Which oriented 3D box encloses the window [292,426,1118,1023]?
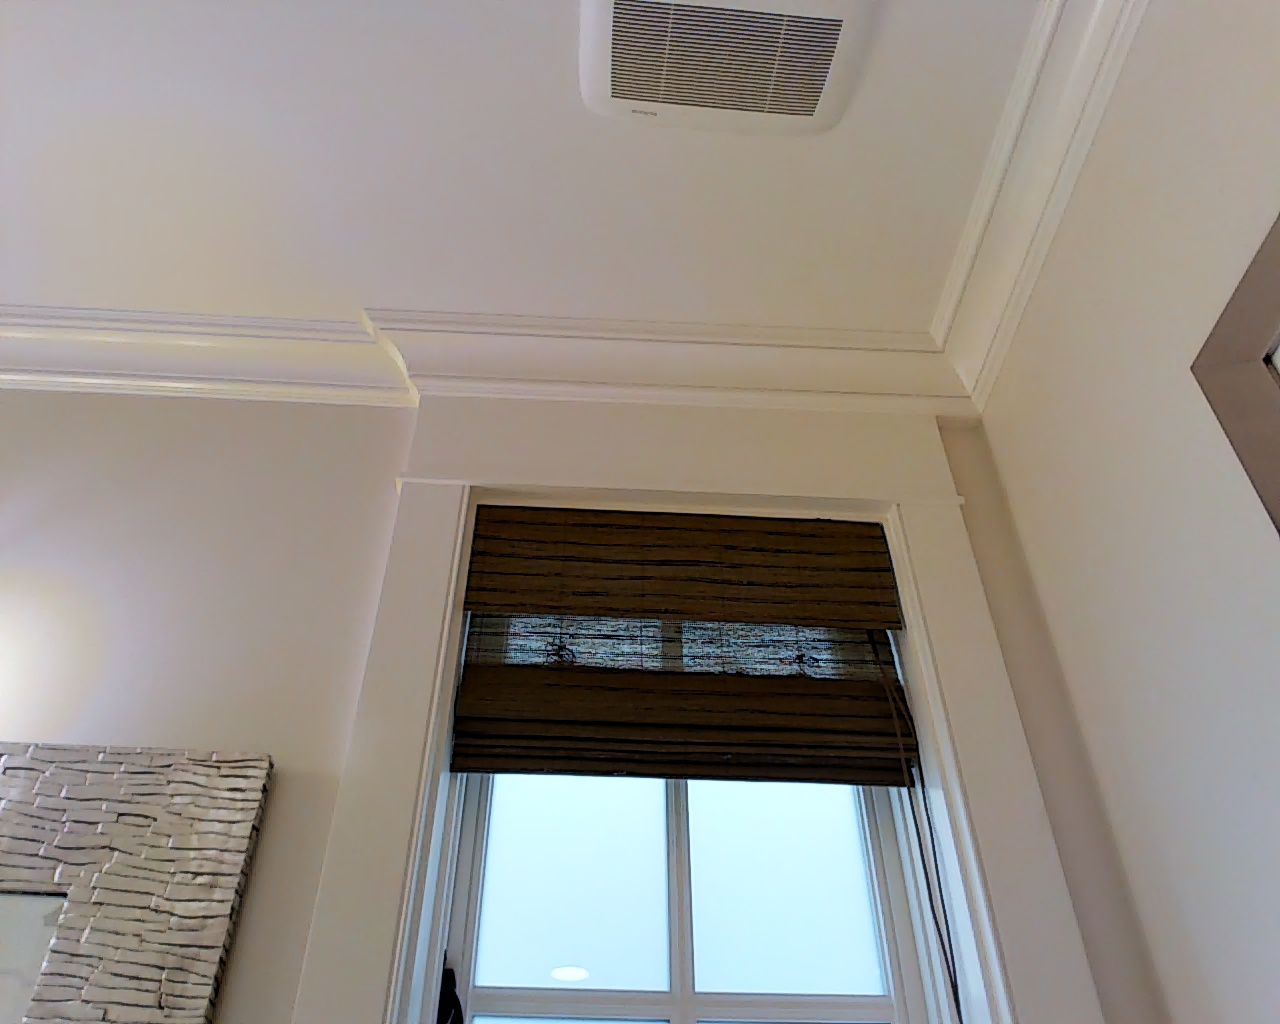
[{"bbox_3d":[0.060,0.480,1.090,0.740,1.361,0.230,3,-42,-2],"label":"window"}]
